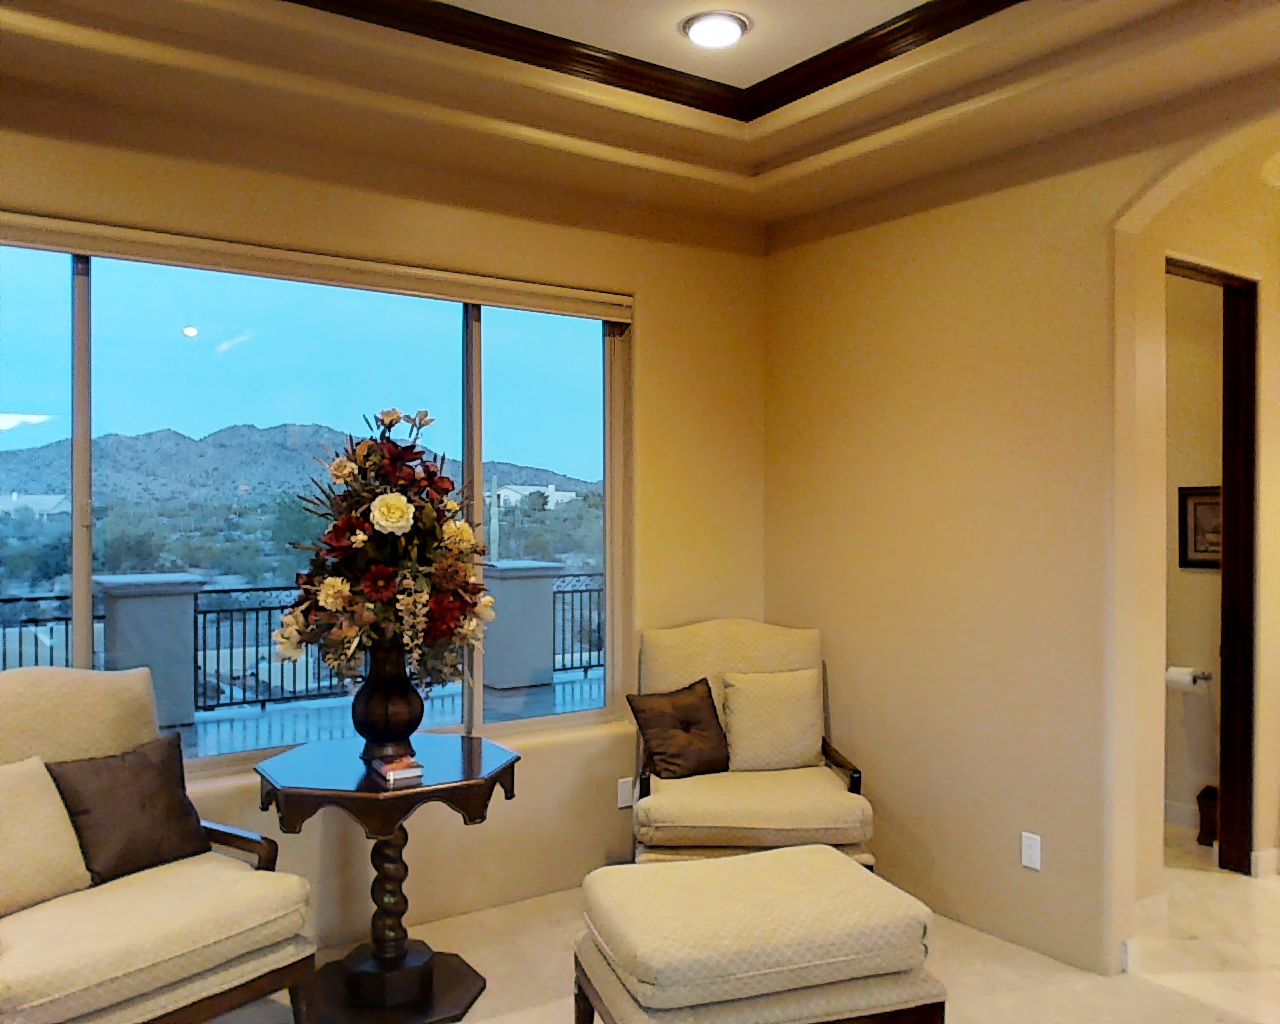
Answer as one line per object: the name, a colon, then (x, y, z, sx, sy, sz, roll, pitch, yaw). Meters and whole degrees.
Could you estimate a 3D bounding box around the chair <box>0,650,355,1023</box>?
chair: (-1.420, 0.970, 2.840, 0.870, 1.040, 0.940, 0, 0, 36)

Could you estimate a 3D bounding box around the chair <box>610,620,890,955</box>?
chair: (0.360, 0.970, 4.060, 0.940, 1.020, 0.970, 0, 0, -1)

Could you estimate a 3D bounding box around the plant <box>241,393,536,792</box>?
plant: (-0.800, 0.220, 3.370, 0.750, 1.090, 0.590, 0, 0, -34)

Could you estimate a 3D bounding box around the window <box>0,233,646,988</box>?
window: (-1.120, 0.290, 3.770, 2.700, 2.220, 0.150, 0, 0, -35)

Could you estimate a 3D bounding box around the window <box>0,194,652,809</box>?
window: (-1.110, -0.030, 3.800, 2.630, 1.780, 0.300, 0, 0, -35)
